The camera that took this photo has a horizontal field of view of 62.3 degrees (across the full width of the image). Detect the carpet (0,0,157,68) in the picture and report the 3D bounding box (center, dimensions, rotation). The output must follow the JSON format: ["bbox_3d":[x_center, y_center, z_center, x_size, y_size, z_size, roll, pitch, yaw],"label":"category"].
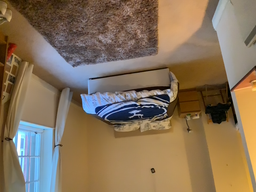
[{"bbox_3d":[-0.370,-0.750,2.140,1.280,0.120,1.720,-7,164,6],"label":"carpet"}]
